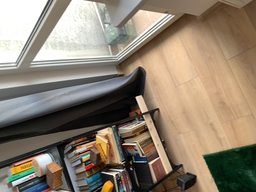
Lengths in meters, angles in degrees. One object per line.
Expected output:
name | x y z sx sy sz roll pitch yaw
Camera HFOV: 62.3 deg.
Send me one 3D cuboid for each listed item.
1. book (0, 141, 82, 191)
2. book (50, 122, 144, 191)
book | -0.490 0.570 1.210 0.370 0.280 0.480 -31 78 44
book | -0.230 0.510 1.500 0.400 0.370 0.470 -31 79 44
